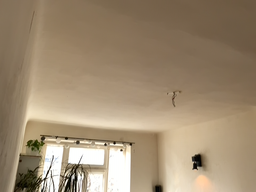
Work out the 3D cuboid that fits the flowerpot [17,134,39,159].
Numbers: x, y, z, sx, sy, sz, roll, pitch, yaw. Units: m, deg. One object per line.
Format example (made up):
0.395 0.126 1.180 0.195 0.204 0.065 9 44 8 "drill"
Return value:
-1.560 0.810 3.340 0.250 0.310 0.530 9 -21 -21 "flowerpot"
